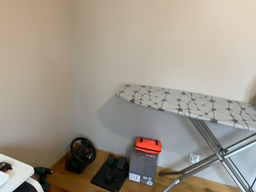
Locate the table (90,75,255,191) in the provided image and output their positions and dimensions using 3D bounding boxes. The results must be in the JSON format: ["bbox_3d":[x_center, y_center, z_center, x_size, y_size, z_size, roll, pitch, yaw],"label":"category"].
[{"bbox_3d":[0.470,0.430,1.590,1.440,0.870,0.460,11,24,19],"label":"table"}]
